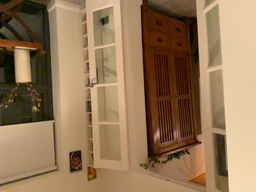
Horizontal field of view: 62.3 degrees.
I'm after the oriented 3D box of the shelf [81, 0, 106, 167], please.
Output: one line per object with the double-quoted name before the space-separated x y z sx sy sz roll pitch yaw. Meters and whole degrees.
"shelf" -0.430 -0.160 2.630 0.120 2.010 0.200 -3 180 -42
